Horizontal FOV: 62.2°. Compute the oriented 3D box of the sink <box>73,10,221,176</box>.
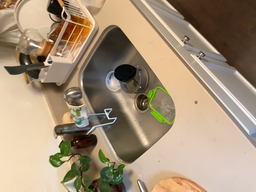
[{"bbox_3d":[0.040,-0.020,1.010,0.410,0.260,0.590,-49,58,33],"label":"sink"}]

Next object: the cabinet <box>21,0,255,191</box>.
[{"bbox_3d":[0.000,-0.390,1.500,0.700,0.910,1.860,-49,58,33],"label":"cabinet"}]
